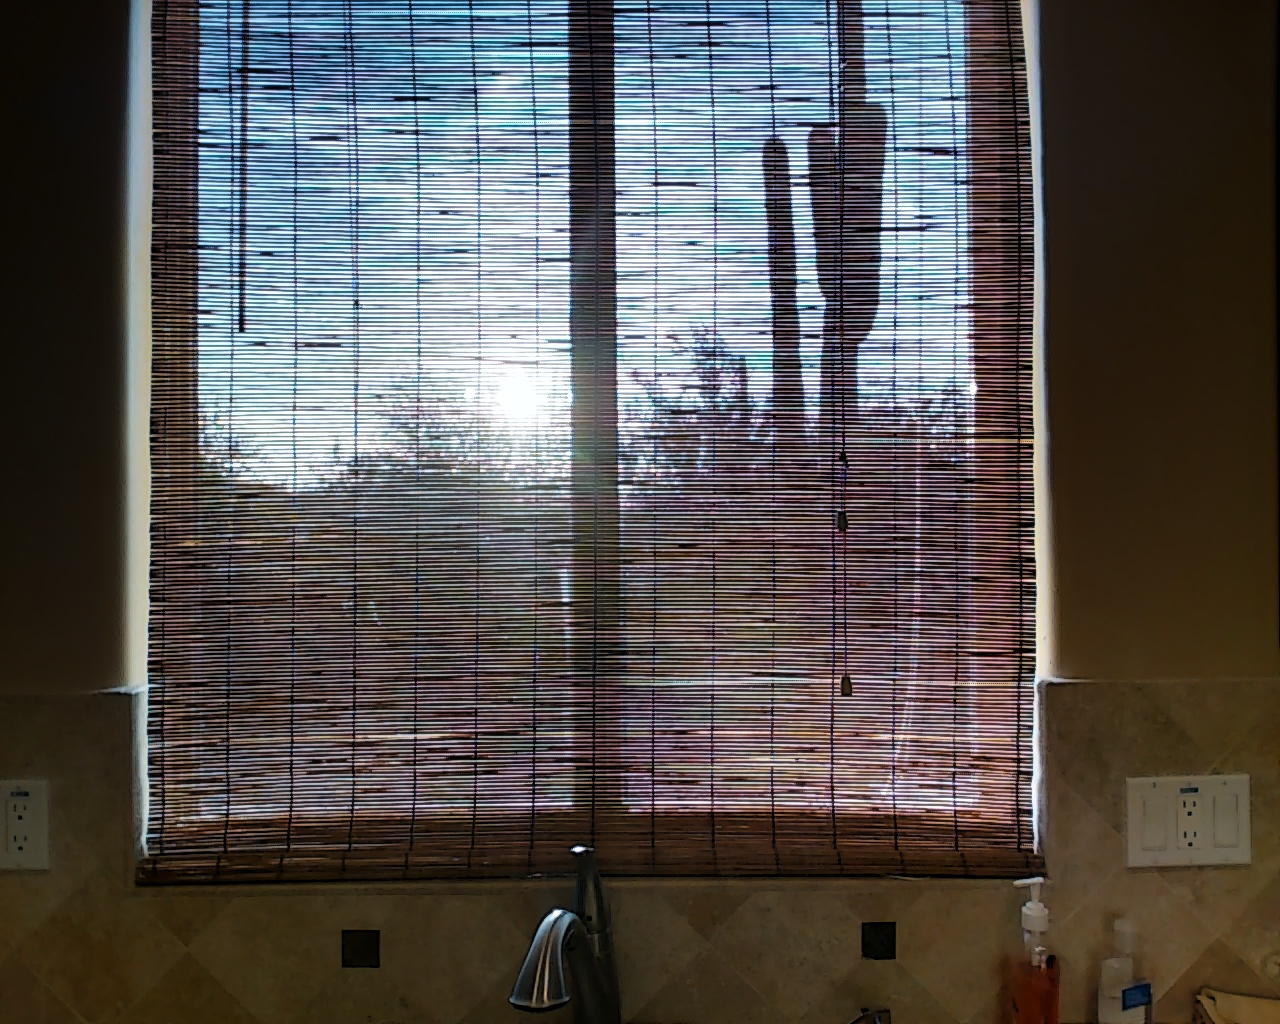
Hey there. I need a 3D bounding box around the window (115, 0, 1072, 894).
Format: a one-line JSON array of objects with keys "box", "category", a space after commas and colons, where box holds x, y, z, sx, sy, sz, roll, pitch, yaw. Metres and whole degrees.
[{"box": [-0.050, -0.260, 1.400, 1.210, 1.470, 0.080, 0, 0, -2], "category": "window"}]

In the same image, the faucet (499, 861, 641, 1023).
[{"box": [-0.080, 0.540, 1.280, 0.160, 0.190, 0.150, 0, 0, -1], "category": "faucet"}]
